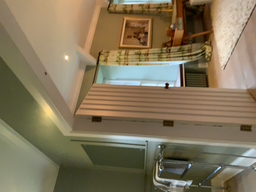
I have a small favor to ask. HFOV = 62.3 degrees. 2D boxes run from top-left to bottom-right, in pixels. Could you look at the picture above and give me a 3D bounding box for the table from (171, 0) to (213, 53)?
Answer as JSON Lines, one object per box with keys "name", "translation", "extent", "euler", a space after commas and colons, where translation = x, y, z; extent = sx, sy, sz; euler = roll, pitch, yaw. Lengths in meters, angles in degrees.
{"name": "table", "translation": [1.350, -1.580, 4.660], "extent": [0.540, 0.720, 1.150], "euler": [83, -169, -58]}
